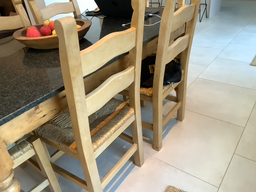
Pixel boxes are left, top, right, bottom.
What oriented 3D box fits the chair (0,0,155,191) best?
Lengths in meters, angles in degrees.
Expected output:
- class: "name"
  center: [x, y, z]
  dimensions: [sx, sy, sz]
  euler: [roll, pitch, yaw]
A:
- class: "chair"
  center: [-0.220, 0.050, 1.090]
  dimensions: [0.540, 0.980, 0.480]
  euler: [18, 39, 32]
